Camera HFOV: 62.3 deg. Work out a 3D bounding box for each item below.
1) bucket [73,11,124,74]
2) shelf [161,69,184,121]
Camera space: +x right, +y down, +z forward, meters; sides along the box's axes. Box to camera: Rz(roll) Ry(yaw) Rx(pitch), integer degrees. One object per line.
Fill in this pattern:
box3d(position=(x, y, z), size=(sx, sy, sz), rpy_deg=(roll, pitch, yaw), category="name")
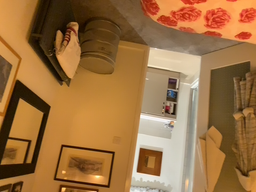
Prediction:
box3d(position=(-0.360, -0.630, 2.600), size=(0.470, 0.510, 0.460), rpy_deg=(12, 164, -6), category="bucket")
box3d(position=(0.750, -0.020, 3.570), size=(0.240, 0.810, 0.230), rpy_deg=(10, 164, 0), category="shelf")
